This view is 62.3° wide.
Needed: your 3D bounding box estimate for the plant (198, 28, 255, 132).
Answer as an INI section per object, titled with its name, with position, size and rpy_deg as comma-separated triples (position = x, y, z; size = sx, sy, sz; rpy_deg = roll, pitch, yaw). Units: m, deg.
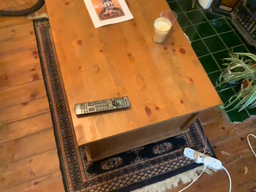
[plant]
position = 0.800, -0.100, 1.370
size = 0.360, 0.440, 0.480
rpy_deg = -15, 67, -11
